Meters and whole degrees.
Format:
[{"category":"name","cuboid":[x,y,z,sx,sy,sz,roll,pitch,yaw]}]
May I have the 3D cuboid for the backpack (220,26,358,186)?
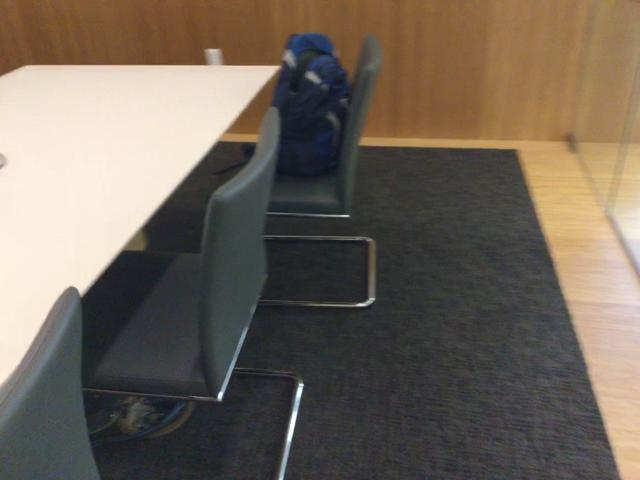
[{"category":"backpack","cuboid":[-0.080,-0.460,1.950,0.380,0.440,0.320,3,31,9]}]
